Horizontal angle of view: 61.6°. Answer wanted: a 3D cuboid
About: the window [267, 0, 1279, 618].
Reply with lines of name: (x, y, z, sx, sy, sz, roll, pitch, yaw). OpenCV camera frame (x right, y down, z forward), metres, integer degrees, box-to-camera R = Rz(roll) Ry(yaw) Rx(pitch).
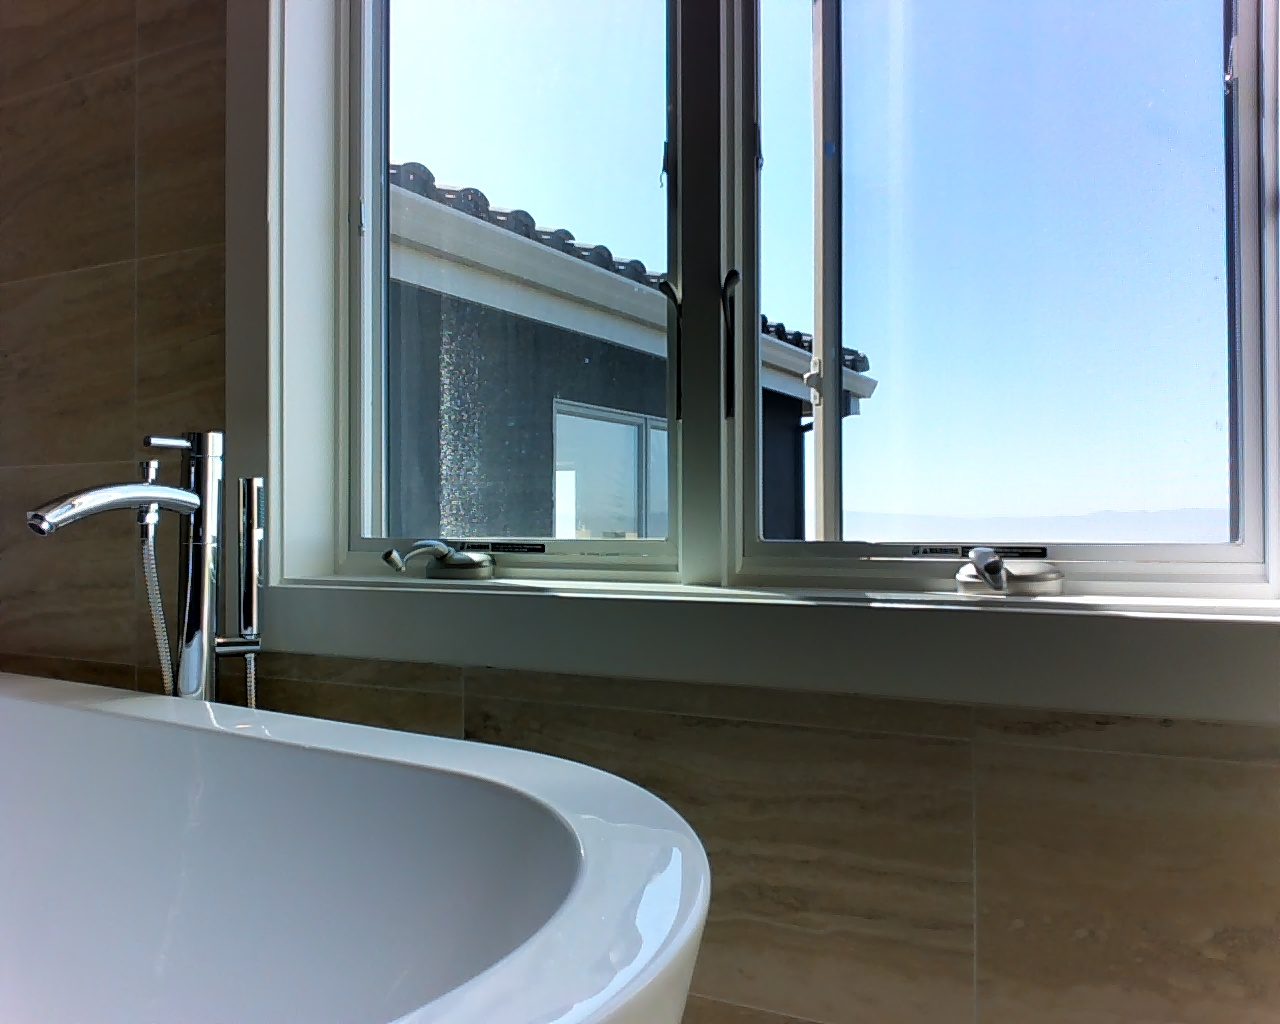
window: (0.080, -0.500, 1.250, 1.220, 1.200, 0.190, -1, -1, 28)
